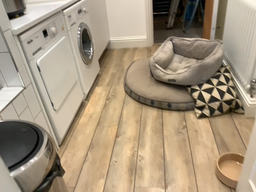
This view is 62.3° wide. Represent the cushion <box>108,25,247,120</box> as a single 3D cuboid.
[{"bbox_3d":[0.430,-0.310,2.120,0.980,0.440,1.150,0,33,10],"label":"cushion"}]

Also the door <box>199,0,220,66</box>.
[{"bbox_3d":[0.900,-1.400,2.220,0.090,1.980,0.830,3,34,13],"label":"door"}]
